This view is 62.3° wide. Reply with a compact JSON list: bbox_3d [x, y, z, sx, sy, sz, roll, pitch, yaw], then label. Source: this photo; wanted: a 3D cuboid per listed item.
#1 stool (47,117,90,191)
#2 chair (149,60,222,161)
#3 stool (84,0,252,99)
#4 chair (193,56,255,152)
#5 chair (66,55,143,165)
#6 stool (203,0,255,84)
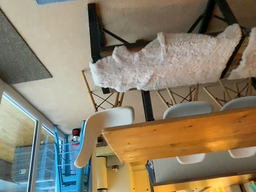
[{"bbox_3d":[-0.760,0.850,2.810,0.390,1.000,0.430,-8,150,2],"label":"stool"},{"bbox_3d":[0.490,0.140,2.060,0.410,0.800,0.500,-6,150,-2],"label":"chair"},{"bbox_3d":[0.200,-0.360,1.450,0.890,0.480,0.500,-7,150,-1],"label":"stool"},{"bbox_3d":[1.040,0.080,2.110,0.470,0.780,0.480,-6,150,-2],"label":"chair"},{"bbox_3d":[-0.250,0.120,1.850,0.530,0.800,0.460,2,149,-15],"label":"chair"},{"bbox_3d":[1.040,-0.460,1.460,0.800,0.490,0.460,-7,150,-1],"label":"stool"}]
